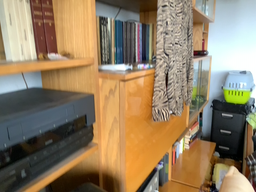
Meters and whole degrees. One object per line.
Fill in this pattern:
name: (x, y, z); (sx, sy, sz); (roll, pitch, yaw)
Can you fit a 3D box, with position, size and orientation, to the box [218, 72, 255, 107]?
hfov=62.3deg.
box: (1.220, -0.100, 2.360); (0.330, 0.270, 0.570); (6, 14, 26)
